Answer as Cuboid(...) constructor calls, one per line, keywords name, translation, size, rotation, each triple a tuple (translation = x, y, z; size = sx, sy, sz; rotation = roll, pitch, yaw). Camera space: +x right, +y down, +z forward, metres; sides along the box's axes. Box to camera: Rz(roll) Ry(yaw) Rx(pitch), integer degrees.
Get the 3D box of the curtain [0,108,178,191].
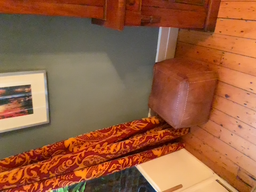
Cuboid(name="curtain", translation=(-0.510, 0.460, 1.680), size=(0.370, 2.030, 0.310), rotation=(33, 125, 53))
